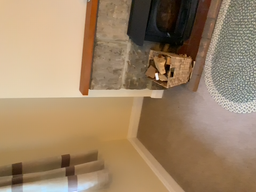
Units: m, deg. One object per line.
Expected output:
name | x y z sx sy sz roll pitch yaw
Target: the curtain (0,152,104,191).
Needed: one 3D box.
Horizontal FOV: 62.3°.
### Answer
curtain | -0.890 0.720 1.740 0.360 1.320 0.160 40 124 55
